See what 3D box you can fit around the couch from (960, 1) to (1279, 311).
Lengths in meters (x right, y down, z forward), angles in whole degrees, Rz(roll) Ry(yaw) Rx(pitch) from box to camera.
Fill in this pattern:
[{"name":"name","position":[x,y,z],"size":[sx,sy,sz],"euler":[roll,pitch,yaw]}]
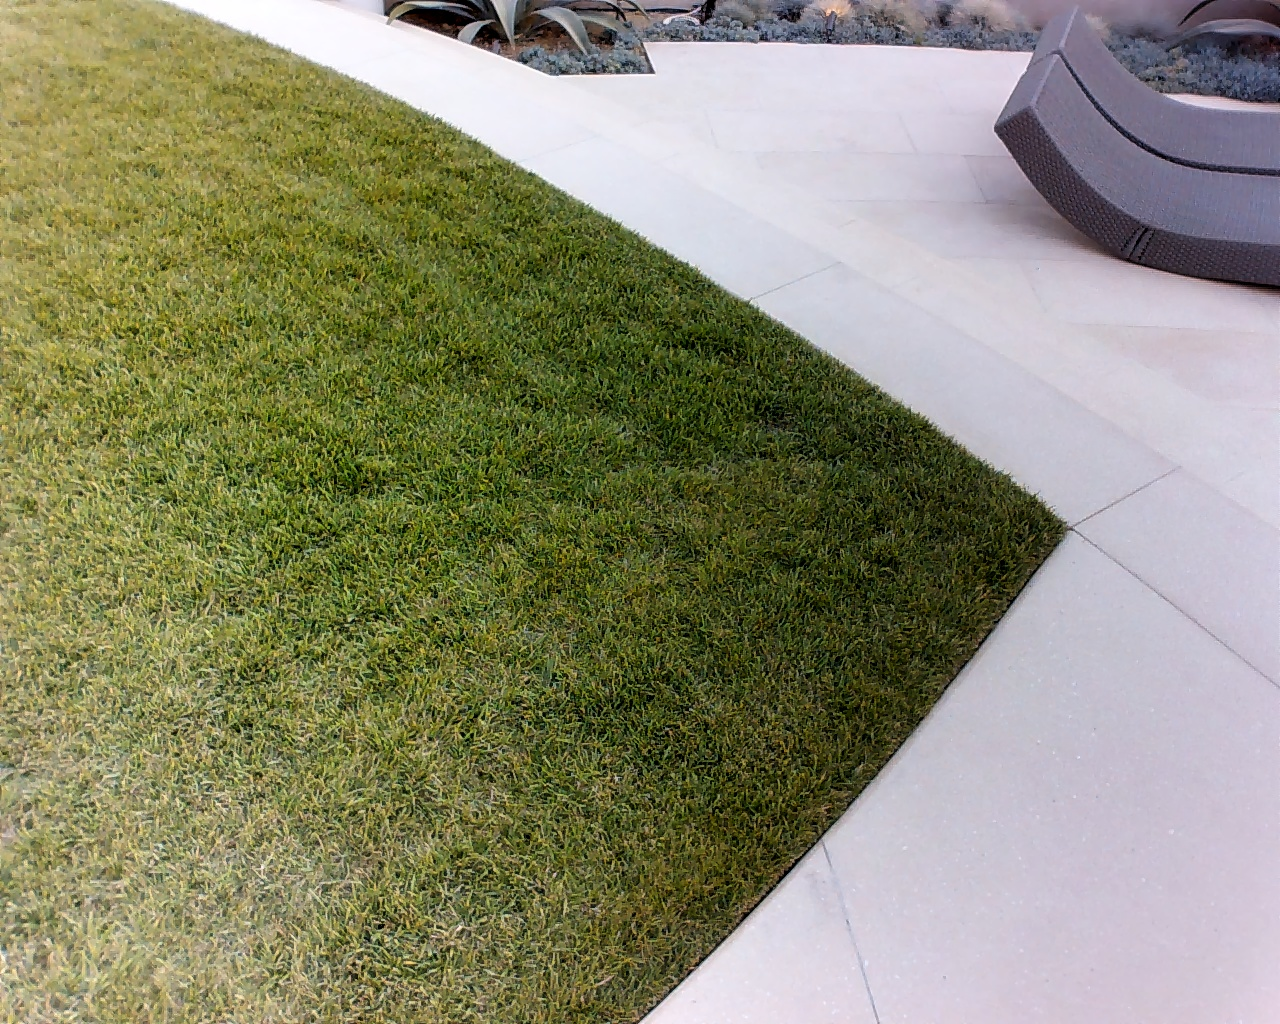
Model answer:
[{"name":"couch","position":[2.540,-1.420,4.340],"size":[2.090,0.500,1.530],"euler":[18,44,16]}]
